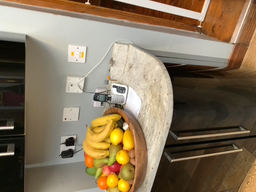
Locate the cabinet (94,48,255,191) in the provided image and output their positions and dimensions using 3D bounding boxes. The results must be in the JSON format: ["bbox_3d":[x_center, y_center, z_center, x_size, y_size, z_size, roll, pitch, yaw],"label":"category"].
[{"bbox_3d":[0.300,0.630,1.460,0.520,0.890,1.710,47,130,53],"label":"cabinet"}]
